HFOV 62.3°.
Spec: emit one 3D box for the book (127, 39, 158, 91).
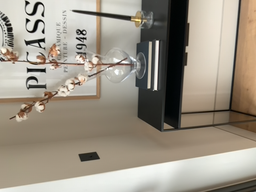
[{"bbox_3d":[0.070,-0.170,1.170,0.270,0.060,0.250,-157,67,-67],"label":"book"}]
